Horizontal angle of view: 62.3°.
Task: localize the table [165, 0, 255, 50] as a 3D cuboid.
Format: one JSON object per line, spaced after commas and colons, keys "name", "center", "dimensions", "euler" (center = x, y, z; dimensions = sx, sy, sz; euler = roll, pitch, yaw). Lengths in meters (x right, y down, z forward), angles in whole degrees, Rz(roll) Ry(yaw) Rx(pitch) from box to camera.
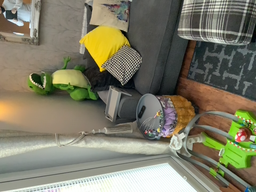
{"name": "table", "center": [0.700, -0.870, 1.520], "dimensions": [0.660, 0.330, 0.950], "euler": [34, 118, 56]}
